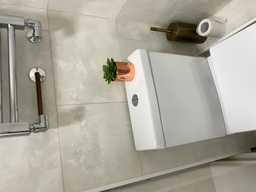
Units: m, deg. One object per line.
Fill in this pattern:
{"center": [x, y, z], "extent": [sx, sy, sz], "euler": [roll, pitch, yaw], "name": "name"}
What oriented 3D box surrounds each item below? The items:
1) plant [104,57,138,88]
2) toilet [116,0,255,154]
{"center": [-0.030, -0.090, 0.850], "extent": [0.100, 0.090, 0.090], "euler": [-33, 64, 57], "name": "plant"}
{"center": [0.460, -0.060, 0.810], "extent": [0.600, 0.780, 0.390], "euler": [-31, 65, 58], "name": "toilet"}
